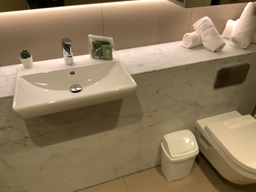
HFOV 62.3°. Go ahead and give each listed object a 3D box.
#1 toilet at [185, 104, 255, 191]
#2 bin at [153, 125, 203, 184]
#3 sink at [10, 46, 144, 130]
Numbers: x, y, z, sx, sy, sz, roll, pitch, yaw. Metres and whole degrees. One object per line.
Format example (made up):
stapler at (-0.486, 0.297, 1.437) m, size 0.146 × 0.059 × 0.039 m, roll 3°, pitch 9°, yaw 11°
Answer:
toilet at (0.760, 0.400, 1.490) m, size 0.420 × 0.360 × 0.540 m, roll -12°, pitch 38°, yaw -16°
bin at (0.350, 0.430, 1.550) m, size 0.270 × 0.370 × 0.160 m, roll -11°, pitch 37°, yaw -14°
sink at (-0.280, -0.090, 1.140) m, size 0.580 × 0.110 × 0.480 m, roll -12°, pitch 38°, yaw -16°
